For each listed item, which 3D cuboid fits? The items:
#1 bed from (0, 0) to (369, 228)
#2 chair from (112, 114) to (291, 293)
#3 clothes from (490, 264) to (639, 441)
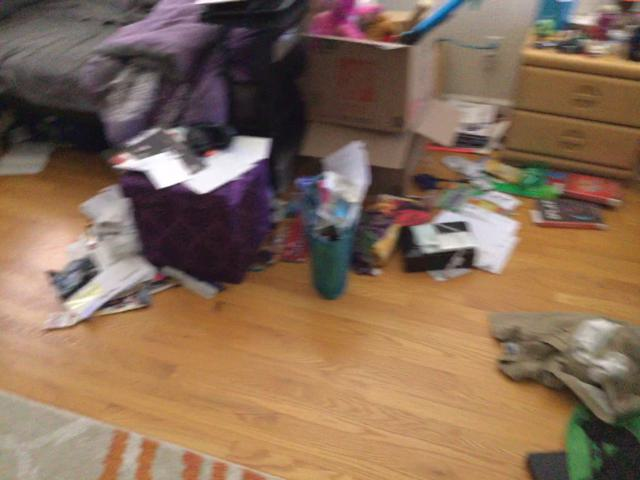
[{"bbox_3d":[-0.910,-0.950,2.590,1.990,0.930,1.160,13,39,18],"label":"bed"},{"bbox_3d":[-0.390,-0.150,2.080,0.400,0.390,0.470,13,39,18],"label":"chair"},{"bbox_3d":[0.820,0.320,1.630,0.580,0.180,0.400,13,39,18],"label":"clothes"}]
